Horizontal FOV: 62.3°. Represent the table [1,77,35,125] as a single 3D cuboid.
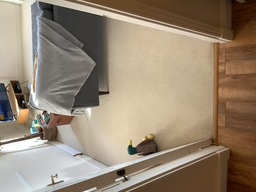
[{"bbox_3d":[-2.580,0.090,4.930,1.060,0.440,0.500,51,128,34],"label":"table"}]
